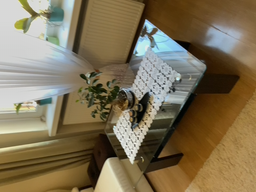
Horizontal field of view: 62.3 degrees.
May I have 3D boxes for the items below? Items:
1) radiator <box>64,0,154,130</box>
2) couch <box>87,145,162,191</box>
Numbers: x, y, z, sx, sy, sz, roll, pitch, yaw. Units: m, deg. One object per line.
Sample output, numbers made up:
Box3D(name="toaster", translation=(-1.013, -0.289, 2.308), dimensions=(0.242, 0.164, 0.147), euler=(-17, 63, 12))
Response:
Box3D(name="radiator", translation=(-0.280, -0.340, 2.460), dimensions=(0.170, 0.600, 1.740), euler=(51, 131, 43))
Box3D(name="couch", translation=(-0.050, 1.140, 2.390), dimensions=(0.810, 0.420, 0.740), euler=(53, 132, 42))
